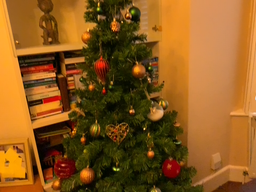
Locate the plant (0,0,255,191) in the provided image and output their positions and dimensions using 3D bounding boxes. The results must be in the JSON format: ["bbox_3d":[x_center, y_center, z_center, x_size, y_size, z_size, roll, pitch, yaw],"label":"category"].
[{"bbox_3d":[0.010,0.170,1.130,1.050,1.990,0.920,-13,20,-28],"label":"plant"}]

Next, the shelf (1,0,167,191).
[{"bbox_3d":[-0.210,-0.130,1.550,1.030,1.270,0.290,-13,20,-29],"label":"shelf"}]
